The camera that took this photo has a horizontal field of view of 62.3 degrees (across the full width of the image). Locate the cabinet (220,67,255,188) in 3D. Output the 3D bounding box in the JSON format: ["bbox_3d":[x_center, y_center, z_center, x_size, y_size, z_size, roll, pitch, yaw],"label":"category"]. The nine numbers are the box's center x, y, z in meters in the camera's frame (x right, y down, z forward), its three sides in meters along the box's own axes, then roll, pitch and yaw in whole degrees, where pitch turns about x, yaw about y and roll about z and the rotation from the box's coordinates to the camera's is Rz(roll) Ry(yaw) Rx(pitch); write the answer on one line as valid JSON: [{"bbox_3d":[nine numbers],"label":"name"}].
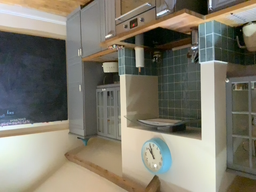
[{"bbox_3d":[1.300,0.240,1.630,0.450,0.940,0.980,-1,-179,-39],"label":"cabinet"}]
